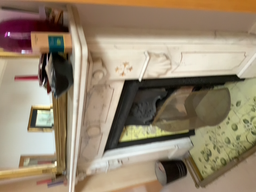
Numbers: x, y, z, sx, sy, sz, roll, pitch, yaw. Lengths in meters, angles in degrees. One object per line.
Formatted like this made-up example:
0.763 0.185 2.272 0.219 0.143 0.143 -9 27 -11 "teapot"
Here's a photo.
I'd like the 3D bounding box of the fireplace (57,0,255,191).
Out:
0.230 0.250 1.580 1.680 1.330 0.720 109 149 -47 "fireplace"
